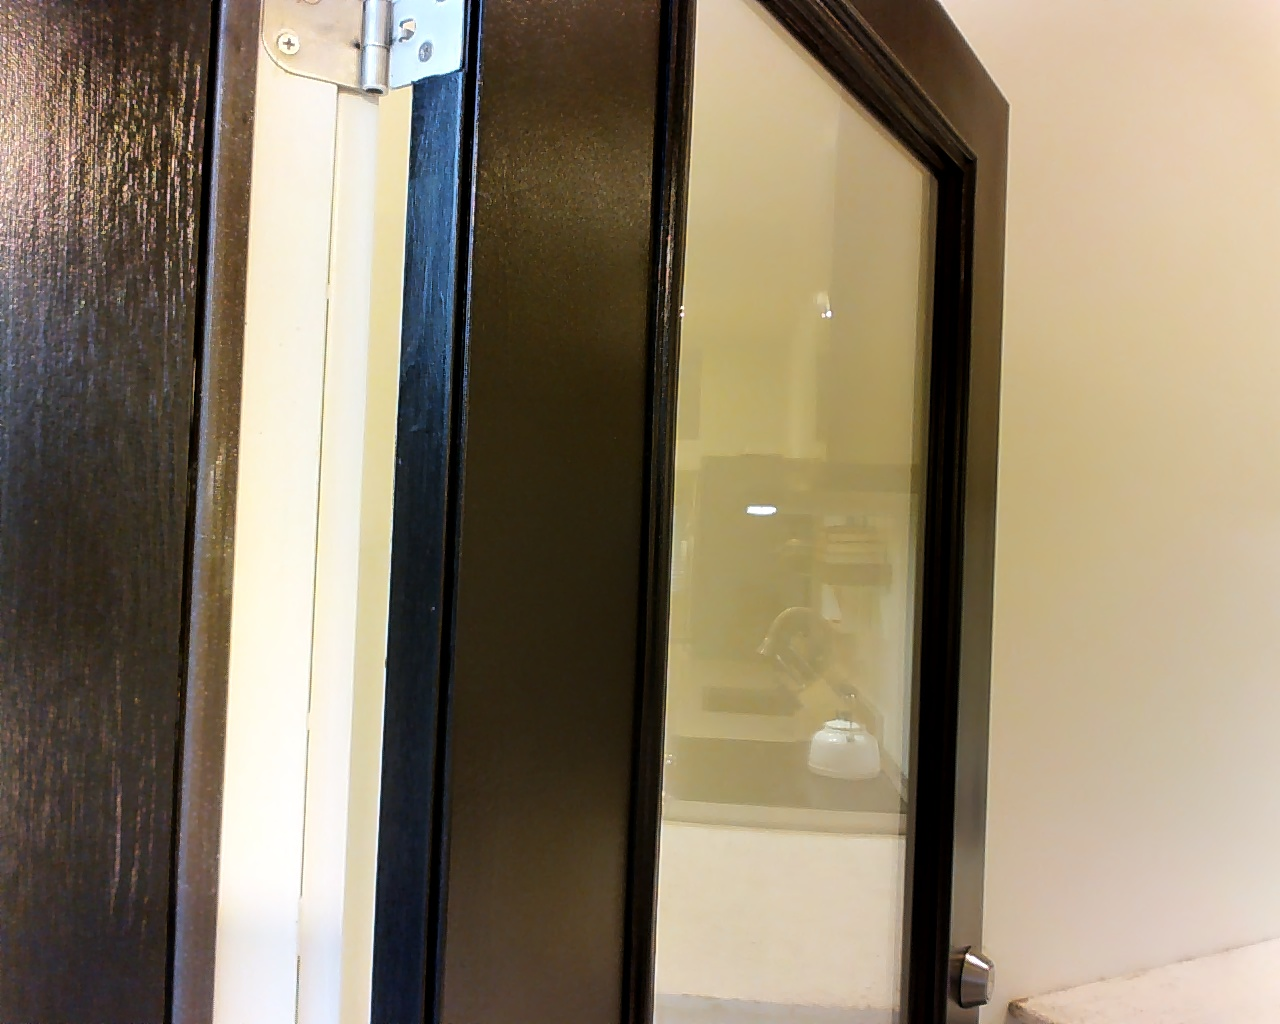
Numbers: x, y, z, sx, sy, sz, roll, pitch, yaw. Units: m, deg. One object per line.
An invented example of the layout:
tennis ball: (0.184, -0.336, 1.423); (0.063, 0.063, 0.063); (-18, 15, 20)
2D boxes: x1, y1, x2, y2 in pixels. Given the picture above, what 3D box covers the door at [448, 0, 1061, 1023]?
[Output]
door: (0.190, 0.530, 0.890); (0.080, 2.080, 1.000); (2, -1, 30)
